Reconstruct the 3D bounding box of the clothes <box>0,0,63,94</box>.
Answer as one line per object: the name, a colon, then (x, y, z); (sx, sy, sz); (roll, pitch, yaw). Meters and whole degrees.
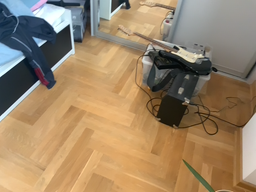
clothes: (-0.860, -0.410, 1.680); (0.480, 0.570, 0.360); (21, 47, 11)
